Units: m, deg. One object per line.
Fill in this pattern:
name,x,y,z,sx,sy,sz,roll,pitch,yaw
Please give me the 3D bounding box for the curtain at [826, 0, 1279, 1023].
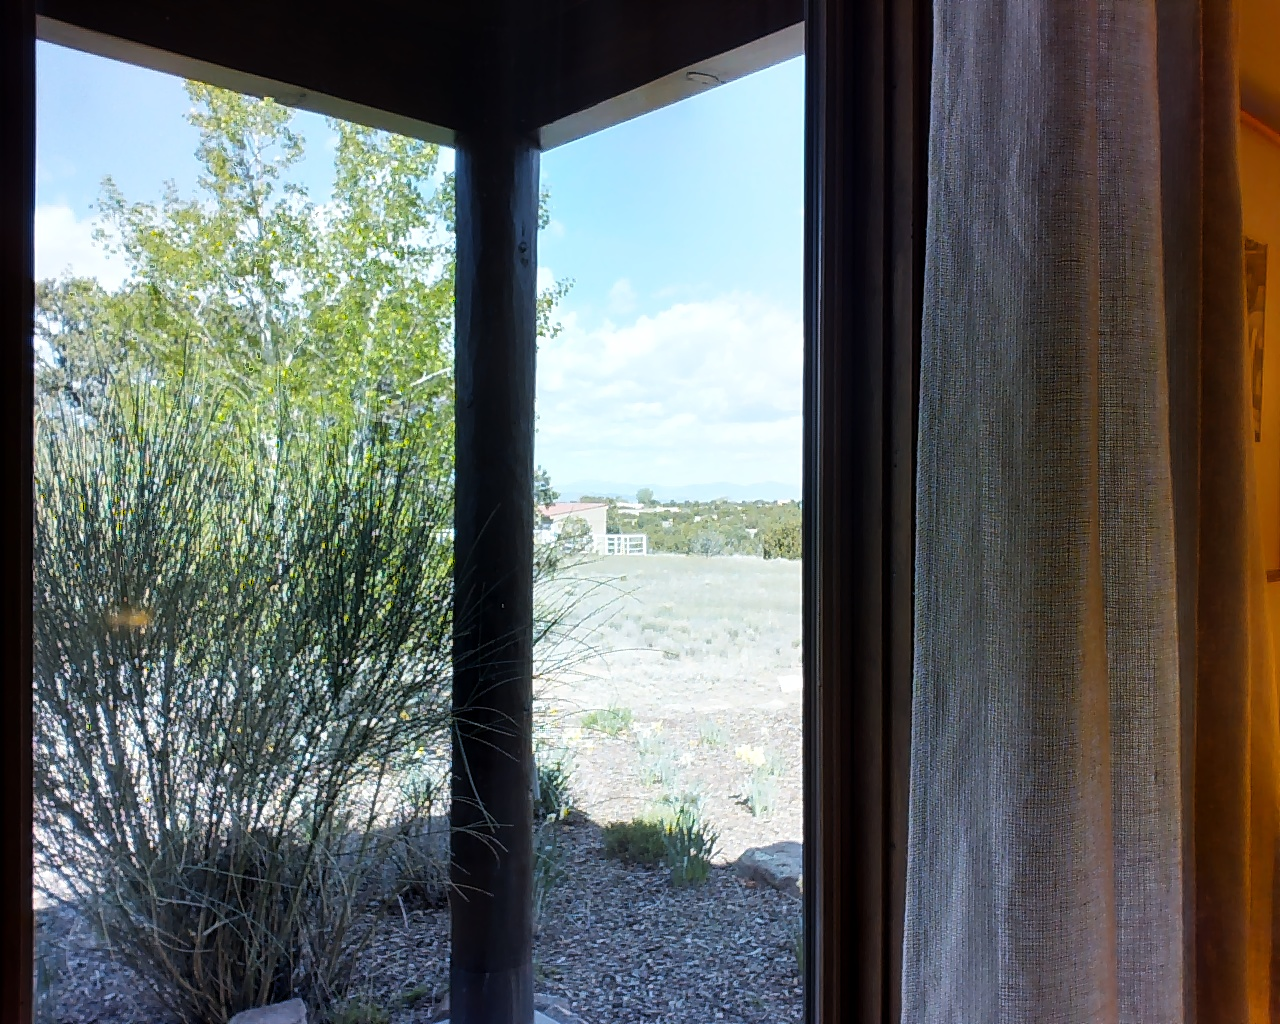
curtain,0.410,-0.010,0.810,0.610,1.940,0.190,0,0,-42
